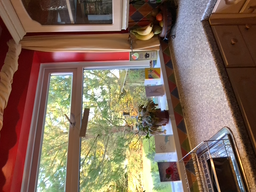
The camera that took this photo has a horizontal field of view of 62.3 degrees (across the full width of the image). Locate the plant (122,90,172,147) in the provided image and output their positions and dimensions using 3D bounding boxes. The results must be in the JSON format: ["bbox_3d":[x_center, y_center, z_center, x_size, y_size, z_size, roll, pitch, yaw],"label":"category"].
[{"bbox_3d":[0.130,0.180,1.660,0.230,0.320,0.370,98,168,-64],"label":"plant"}]
